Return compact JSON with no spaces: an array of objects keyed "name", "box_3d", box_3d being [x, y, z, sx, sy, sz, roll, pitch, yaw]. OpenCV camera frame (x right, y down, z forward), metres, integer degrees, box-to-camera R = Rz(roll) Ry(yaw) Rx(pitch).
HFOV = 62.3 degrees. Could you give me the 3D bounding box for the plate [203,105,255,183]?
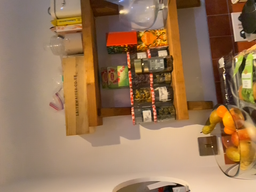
[{"name":"plate","box_3d":[0.410,0.170,0.840,0.250,0.120,0.250,71,-166,-85]}]
